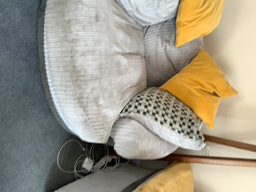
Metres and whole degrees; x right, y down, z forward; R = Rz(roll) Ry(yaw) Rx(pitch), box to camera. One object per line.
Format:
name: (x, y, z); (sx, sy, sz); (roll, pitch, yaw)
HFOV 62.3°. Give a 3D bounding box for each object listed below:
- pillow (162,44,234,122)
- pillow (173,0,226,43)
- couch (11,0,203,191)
pillow: (0.550, -0.060, 1.590); (0.500, 0.420, 0.470); (13, 79, -61)
pillow: (0.520, -0.650, 1.490); (0.440, 0.270, 0.400); (-48, 131, -50)
couch: (0.010, -0.300, 1.410); (1.110, 0.750, 1.360); (-13, 102, -61)
